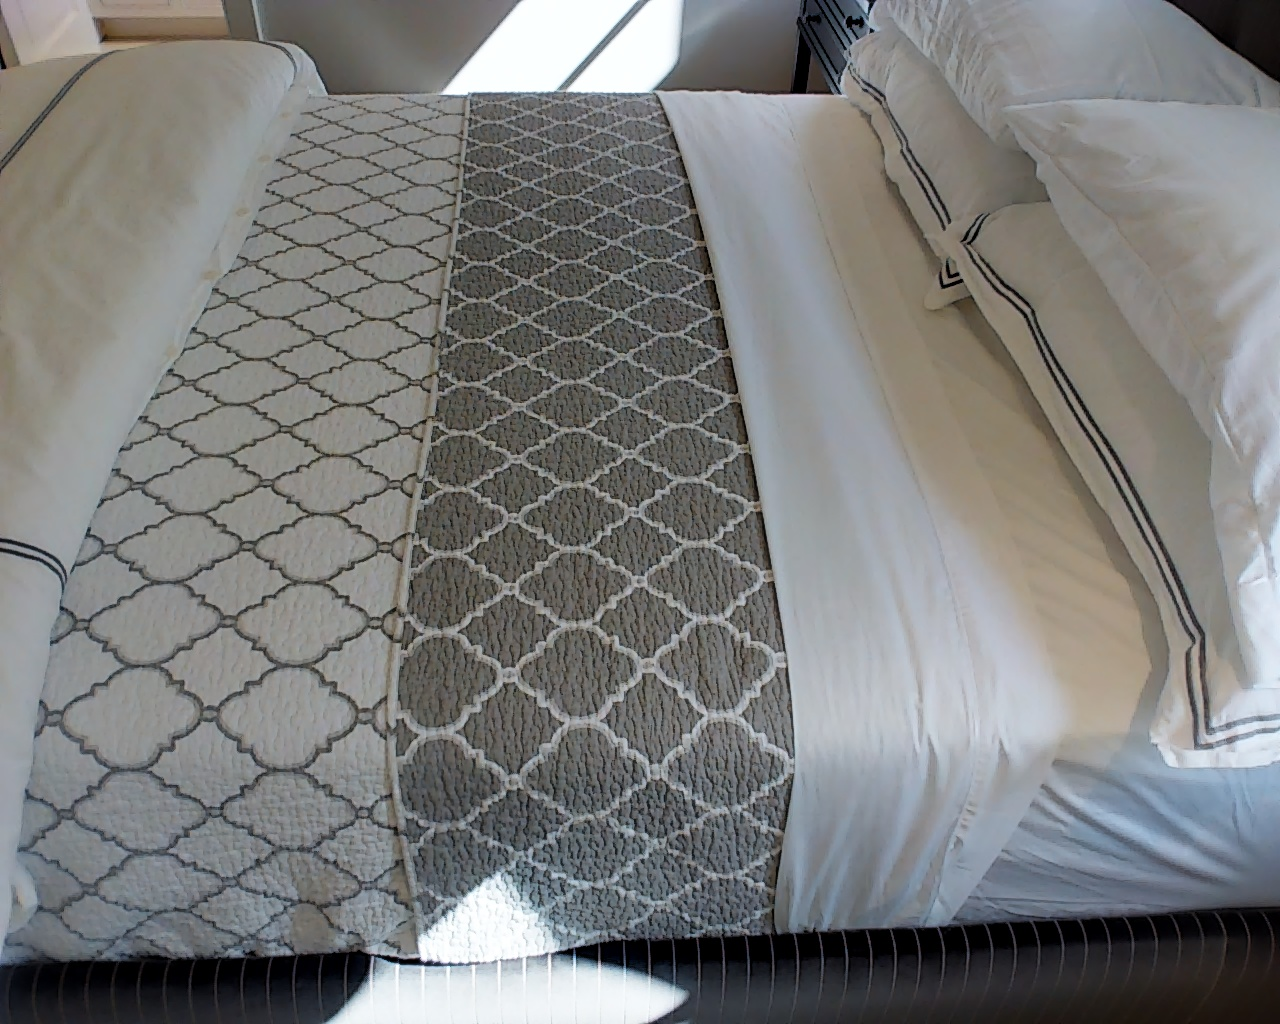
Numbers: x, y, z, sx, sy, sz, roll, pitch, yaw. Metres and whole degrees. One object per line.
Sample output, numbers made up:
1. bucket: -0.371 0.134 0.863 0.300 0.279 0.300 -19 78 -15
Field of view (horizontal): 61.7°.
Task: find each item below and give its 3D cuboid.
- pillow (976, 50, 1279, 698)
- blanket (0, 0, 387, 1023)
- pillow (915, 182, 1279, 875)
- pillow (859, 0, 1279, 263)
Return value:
1. pillow: 0.710 -0.210 1.050 0.500 0.190 0.840 0 41 -2
2. blanket: -0.900 -0.210 1.540 0.770 0.520 2.170 -2 41 -4
3. pillow: 0.690 -0.070 1.170 0.560 0.190 0.910 0 41 -1
4. pillow: 0.680 -0.720 1.690 0.470 0.250 0.880 0 41 -2
